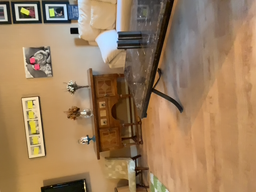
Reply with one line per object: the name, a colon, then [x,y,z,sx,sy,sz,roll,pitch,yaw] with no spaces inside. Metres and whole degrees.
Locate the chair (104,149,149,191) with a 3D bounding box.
chair: [-0.050,1.290,3.720,0.630,0.600,0.460,-169,74,-75]

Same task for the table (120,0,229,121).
table: [0.290,-0.500,1.980,1.280,0.470,0.770,99,159,-44]
